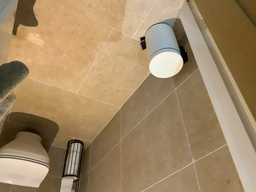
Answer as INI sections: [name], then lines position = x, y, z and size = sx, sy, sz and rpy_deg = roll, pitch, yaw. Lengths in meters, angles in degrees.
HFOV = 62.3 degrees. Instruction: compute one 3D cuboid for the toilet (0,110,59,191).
[toilet]
position = -0.850, 0.460, 1.680
size = 0.390, 0.370, 0.540
rpy_deg = 19, 135, -23
